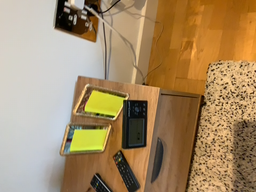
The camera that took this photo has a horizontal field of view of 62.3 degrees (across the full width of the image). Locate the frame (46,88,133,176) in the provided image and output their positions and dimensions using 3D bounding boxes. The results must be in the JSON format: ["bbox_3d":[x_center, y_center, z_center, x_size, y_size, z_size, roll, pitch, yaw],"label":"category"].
[{"bbox_3d":[-0.140,0.110,0.760,0.220,0.170,0.230,14,96,36],"label":"frame"}]
